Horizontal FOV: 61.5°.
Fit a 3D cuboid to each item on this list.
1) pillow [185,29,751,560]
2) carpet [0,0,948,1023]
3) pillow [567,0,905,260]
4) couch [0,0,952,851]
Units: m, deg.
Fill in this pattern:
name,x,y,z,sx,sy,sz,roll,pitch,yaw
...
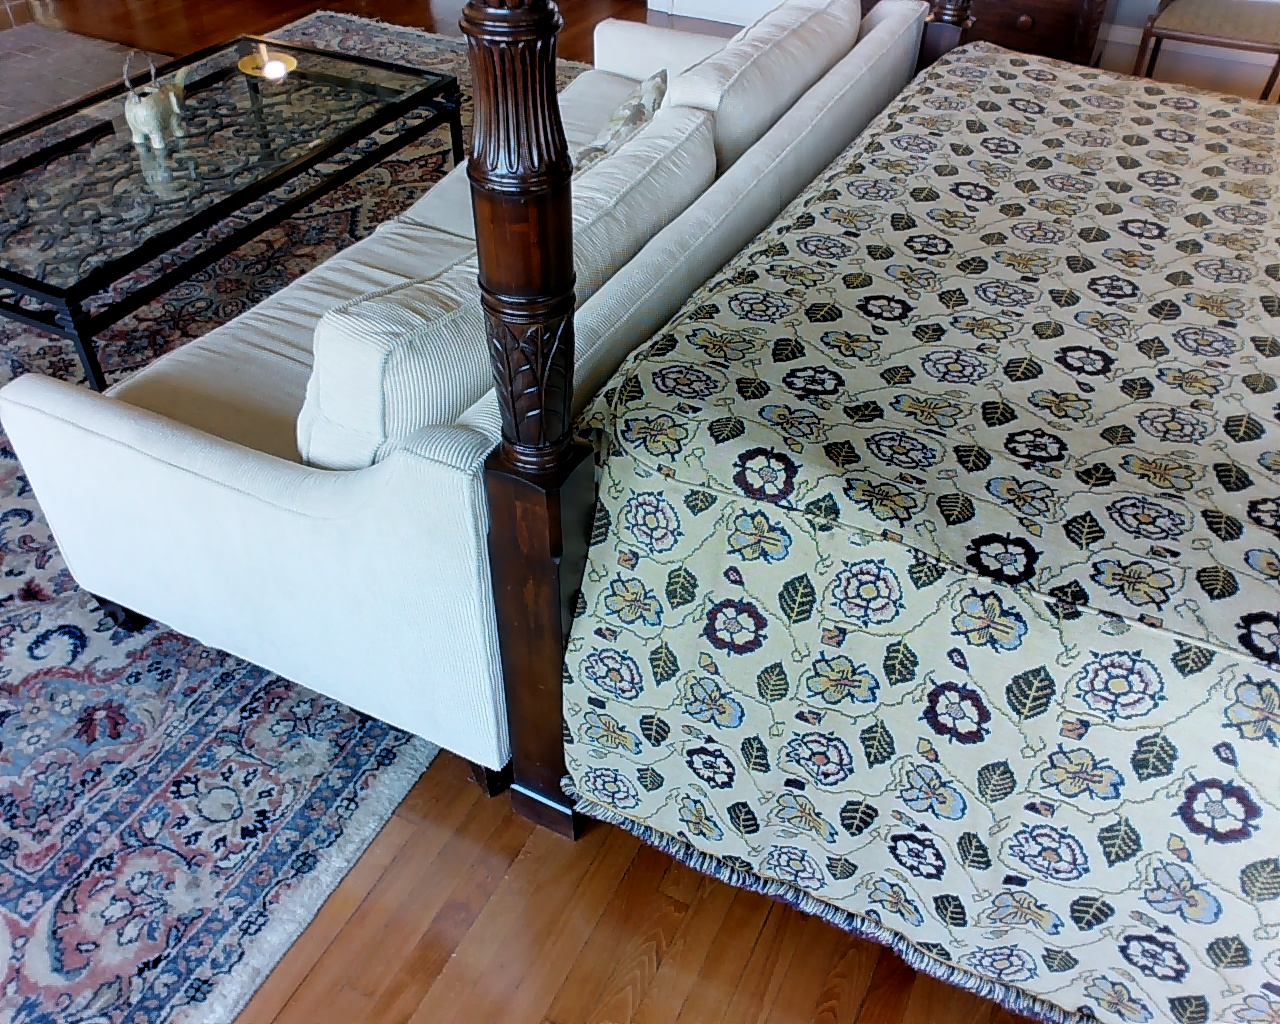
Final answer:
name,x,y,z,sx,sy,sz,roll,pitch,yaw
pillow,-0.200,-0.450,1.860,0.380,0.380,1.080,19,45,19
carpet,-1.110,-0.660,3.060,2.930,0.070,4.190,19,45,19
pillow,0.270,-1.040,2.550,0.410,0.370,1.050,19,45,19
couch,-0.170,-0.600,2.400,1.070,0.860,2.260,19,45,19
